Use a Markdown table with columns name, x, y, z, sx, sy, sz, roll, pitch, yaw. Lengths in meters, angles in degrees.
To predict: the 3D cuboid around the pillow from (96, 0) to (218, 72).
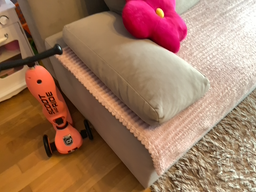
| name | x | y | z | sx | sy | sz | roll | pitch | yaw |
| --- | --- | --- | --- | --- | --- | --- | --- | --- | --- |
| pillow | 0.120 | -0.350 | 0.900 | 0.370 | 0.180 | 0.310 | 39 | 91 | 29 |
